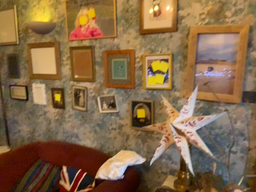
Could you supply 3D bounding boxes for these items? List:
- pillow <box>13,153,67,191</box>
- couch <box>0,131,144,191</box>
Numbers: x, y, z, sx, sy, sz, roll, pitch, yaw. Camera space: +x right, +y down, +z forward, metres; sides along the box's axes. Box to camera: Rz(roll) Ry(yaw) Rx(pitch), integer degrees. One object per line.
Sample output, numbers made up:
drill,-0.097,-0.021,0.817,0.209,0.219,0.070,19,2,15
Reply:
pillow,-0.850,0.770,2.060,0.360,0.070,0.370,6,45,30
couch,-0.720,0.940,1.920,1.400,0.770,1.070,5,10,28
